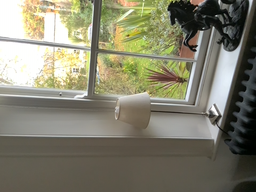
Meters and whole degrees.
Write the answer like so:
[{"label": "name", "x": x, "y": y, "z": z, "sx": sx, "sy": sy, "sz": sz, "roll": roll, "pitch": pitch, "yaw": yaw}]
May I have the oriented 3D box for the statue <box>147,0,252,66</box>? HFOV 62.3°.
[{"label": "statue", "x": 0.370, "y": -0.410, "z": 1.110, "sx": 0.160, "sy": 0.450, "sz": 0.440, "roll": -122, "pitch": 37, "yaw": -68}]
